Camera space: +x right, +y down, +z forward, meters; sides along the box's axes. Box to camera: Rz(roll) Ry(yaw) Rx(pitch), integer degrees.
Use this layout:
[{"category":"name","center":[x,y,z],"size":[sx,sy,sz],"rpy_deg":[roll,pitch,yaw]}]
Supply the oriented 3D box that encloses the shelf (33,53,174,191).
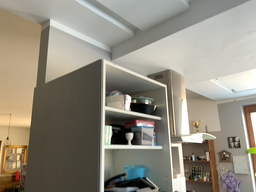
[{"category":"shelf","center":[-0.130,0.260,1.360],"size":[0.540,0.750,0.650],"rpy_deg":[-13,-19,38]}]

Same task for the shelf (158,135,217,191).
[{"category":"shelf","center":[1.140,1.390,4.240],"size":[1.080,1.120,0.200],"rpy_deg":[-14,-20,40]}]
